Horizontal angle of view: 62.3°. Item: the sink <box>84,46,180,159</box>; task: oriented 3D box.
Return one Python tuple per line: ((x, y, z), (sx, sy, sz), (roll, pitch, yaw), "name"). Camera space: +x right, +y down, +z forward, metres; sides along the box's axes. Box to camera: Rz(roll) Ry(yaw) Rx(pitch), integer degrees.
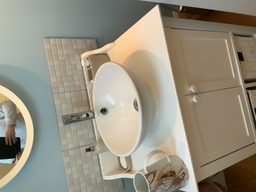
((-0.020, 0.050, 0.960), (0.450, 0.140, 0.400), (-19, 81, 57), "sink")
